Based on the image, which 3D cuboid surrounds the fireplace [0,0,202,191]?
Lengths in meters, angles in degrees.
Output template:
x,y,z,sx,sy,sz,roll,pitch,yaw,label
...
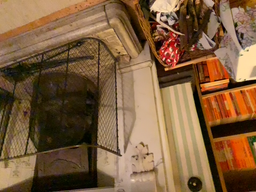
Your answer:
x,y,z,sx,sy,sz,roll,pitch,yaw,label
-0.580,0.300,1.440,1.880,1.300,0.910,-13,150,16,fireplace
